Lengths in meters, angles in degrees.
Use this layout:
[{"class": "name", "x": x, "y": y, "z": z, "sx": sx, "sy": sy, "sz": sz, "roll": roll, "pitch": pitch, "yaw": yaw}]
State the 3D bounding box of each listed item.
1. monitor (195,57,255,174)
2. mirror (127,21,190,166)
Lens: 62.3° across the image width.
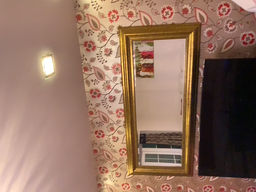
[{"class": "monitor", "x": 1.060, "y": 0.230, "z": 2.060, "sx": 0.090, "sy": 0.710, "sz": 1.200, "roll": -73, "pitch": -18, "yaw": -70}, {"class": "mirror", "x": 0.340, "y": 0.060, "z": 2.420, "sx": 0.070, "sy": 0.620, "sz": 1.700, "roll": -73, "pitch": -18, "yaw": -70}]
